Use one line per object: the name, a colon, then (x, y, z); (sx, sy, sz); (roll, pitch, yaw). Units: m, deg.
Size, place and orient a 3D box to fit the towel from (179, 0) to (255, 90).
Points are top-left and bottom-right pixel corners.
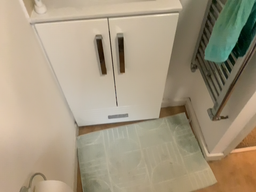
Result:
towel: (0.370, -0.310, 0.780); (0.180, 0.520, 0.300); (-8, 54, -5)
